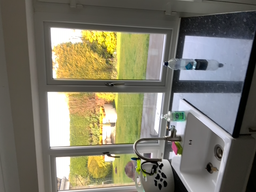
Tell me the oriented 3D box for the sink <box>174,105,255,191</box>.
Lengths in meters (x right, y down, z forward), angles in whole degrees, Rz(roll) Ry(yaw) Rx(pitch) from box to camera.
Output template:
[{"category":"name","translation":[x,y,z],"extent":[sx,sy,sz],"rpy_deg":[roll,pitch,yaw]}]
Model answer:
[{"category":"sink","translation":[0.580,0.460,1.480],"extent":[0.530,0.250,0.650],"rpy_deg":[-122,34,-69]}]
